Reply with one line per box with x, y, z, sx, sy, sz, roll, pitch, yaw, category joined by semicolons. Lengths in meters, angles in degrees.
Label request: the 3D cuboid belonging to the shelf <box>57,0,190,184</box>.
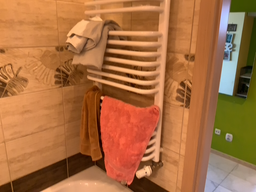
-0.050;-0.260;1.080;0.590;1.170;0.310;16;22;39;shelf
